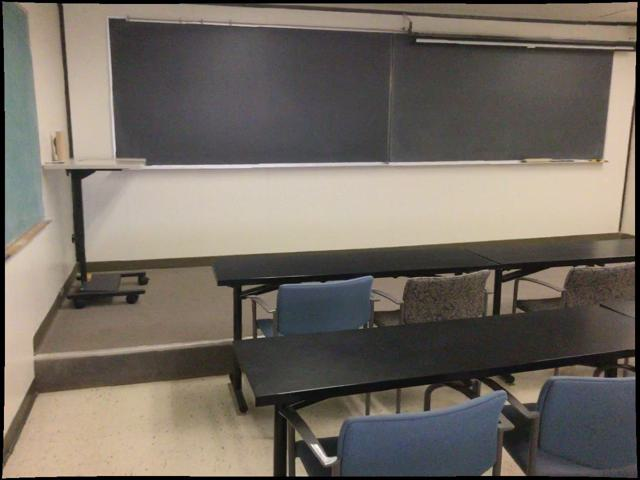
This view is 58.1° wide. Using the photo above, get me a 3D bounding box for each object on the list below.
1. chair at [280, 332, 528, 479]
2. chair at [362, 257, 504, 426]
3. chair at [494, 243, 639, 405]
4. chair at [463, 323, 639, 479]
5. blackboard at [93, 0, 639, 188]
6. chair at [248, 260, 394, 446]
[{"bbox_3d":[0.199,0.762,1.740,0.529,0.782,0.530,-2,11,-17],"label":"chair"},{"bbox_3d":[0.569,0.501,3.040,0.529,0.712,0.490,-2,11,-17],"label":"chair"},{"bbox_3d":[1.436,0.441,3.280,0.609,0.732,0.540,-2,11,-17],"label":"chair"},{"bbox_3d":[0.838,0.722,1.920,0.519,0.742,0.490,-1,11,-11],"label":"chair"},{"bbox_3d":[0.708,-1.223,5.160,5.038,1.464,0.250,-2,11,-17],"label":"blackboard"},{"bbox_3d":[-0.020,0.531,2.910,0.609,0.752,0.460,-2,11,-18],"label":"chair"}]
